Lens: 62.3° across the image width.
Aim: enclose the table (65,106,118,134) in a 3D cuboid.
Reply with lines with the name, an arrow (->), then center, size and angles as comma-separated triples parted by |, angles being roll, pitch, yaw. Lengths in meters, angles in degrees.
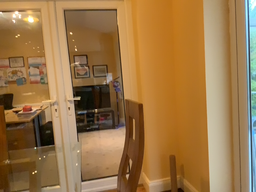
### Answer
table -> -0.860, 0.540, 4.990 | 1.170, 0.450, 0.360 | -6, 6, -16
